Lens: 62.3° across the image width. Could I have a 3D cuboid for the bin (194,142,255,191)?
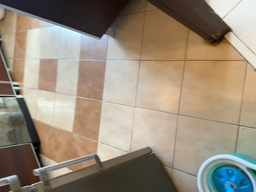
[{"bbox_3d":[0.560,0.410,0.930,0.460,0.250,0.310,1,90,37],"label":"bin"}]
